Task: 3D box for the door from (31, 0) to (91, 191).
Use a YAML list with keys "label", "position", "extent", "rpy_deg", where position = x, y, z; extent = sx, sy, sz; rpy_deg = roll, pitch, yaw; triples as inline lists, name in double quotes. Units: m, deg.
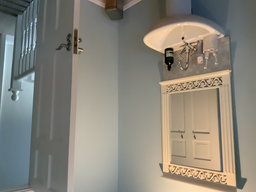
- label: "door"
  position: [-0.510, -0.230, 1.540]
  extent: [0.100, 2.150, 0.880]
  rpy_deg: [5, 172, -35]
